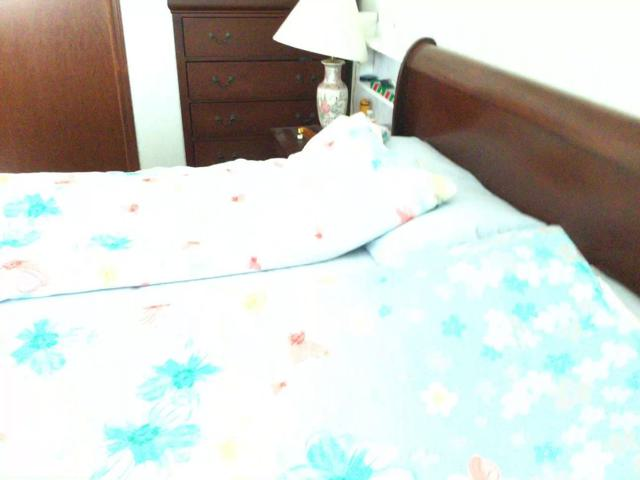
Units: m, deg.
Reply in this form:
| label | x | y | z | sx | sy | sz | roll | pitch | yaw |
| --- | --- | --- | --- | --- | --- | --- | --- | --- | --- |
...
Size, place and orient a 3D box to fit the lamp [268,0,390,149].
| label | x | y | z | sx | sy | sz | roll | pitch | yaw |
| --- | --- | --- | --- | --- | --- | --- | --- | --- | --- |
| lamp | 0.020 | -0.740 | 2.430 | 0.420 | 0.650 | 0.260 | -4 | 27 | -15 |

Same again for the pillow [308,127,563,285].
| label | x | y | z | sx | sy | sz | roll | pitch | yaw |
| --- | --- | --- | --- | --- | --- | --- | --- | --- | --- |
| pillow | 0.270 | -0.150 | 1.700 | 0.420 | 0.150 | 0.790 | -4 | 27 | -15 |

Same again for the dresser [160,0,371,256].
| label | x | y | z | sx | sy | sz | roll | pitch | yaw |
| --- | --- | --- | --- | --- | --- | --- | --- | --- | --- |
| dresser | -0.300 | -0.680 | 2.880 | 0.890 | 1.380 | 0.510 | -4 | 27 | -15 |
